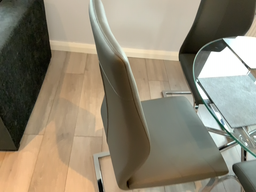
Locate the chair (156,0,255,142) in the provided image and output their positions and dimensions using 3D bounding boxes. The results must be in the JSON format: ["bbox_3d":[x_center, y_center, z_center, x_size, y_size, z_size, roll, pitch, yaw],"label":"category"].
[{"bbox_3d":[0.580,-0.220,1.380,0.440,1.010,0.520,-3,47,-13],"label":"chair"}]
